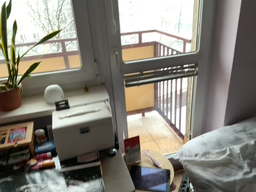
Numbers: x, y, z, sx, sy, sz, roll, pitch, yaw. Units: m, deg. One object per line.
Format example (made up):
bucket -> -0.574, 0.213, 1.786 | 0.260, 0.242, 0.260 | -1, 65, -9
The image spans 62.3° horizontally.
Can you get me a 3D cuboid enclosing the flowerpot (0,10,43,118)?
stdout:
flowerpot -> -0.640, -0.160, 1.100 | 0.260, 0.510, 0.170 | -10, 26, -14
